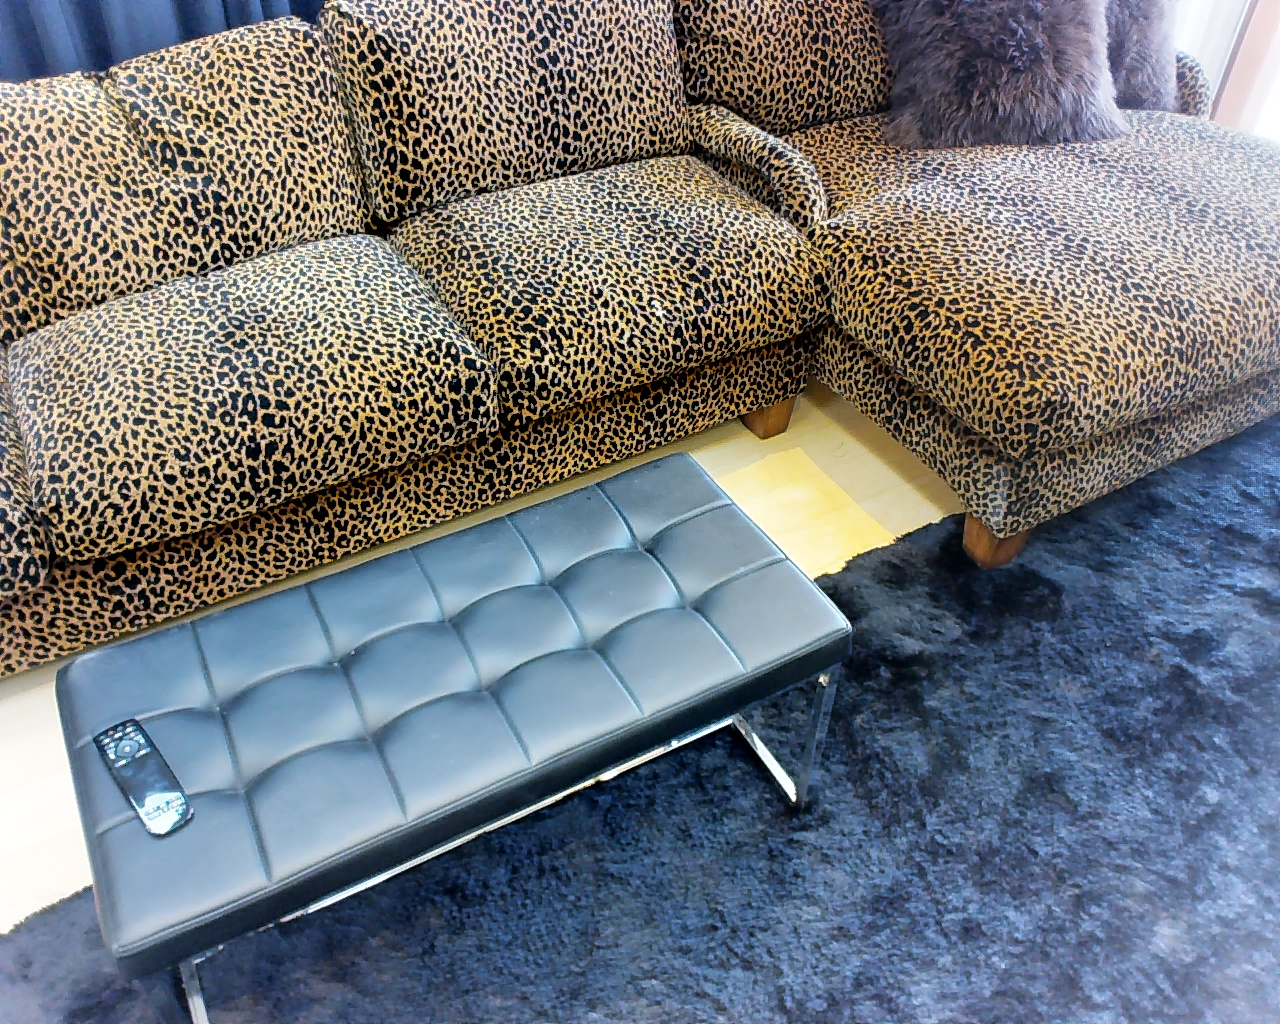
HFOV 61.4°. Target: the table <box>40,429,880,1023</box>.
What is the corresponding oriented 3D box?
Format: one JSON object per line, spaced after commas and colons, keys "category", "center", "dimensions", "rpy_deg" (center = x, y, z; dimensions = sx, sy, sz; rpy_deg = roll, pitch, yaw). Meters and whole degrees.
{"category": "table", "center": [-0.230, 0.340, 1.620], "dimensions": [1.030, 0.480, 0.460], "rpy_deg": [-20, 46, -22]}
